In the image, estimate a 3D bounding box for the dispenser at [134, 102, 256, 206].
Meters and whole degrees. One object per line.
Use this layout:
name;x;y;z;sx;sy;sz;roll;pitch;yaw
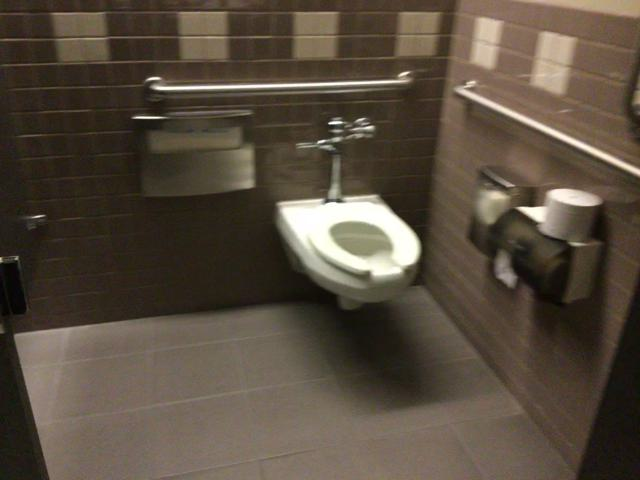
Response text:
dispenser;-0.430;-0.300;2.030;0.400;0.350;0.060;-3;25;-13

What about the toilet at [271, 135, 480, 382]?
toilet;0.130;0.020;2.020;0.500;0.620;0.640;-3;25;-13

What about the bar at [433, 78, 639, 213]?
bar;0.600;-0.310;1.640;0.080;0.100;1.180;-3;25;-13

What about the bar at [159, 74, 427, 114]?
bar;-0.080;-0.510;2.030;0.930;0.110;0.090;-3;25;-13
